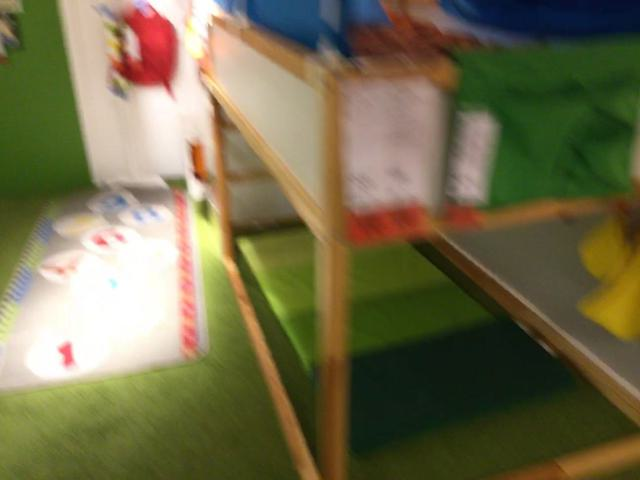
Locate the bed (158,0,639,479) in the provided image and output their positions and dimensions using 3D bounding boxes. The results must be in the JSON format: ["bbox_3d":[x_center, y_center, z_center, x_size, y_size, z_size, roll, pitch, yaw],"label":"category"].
[{"bbox_3d":[0.220,-0.480,1.850,1.210,1.860,2.100,-6,25,-19],"label":"bed"}]

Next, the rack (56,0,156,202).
[{"bbox_3d":[-1.180,-0.870,3.220,0.410,1.260,0.290,-6,25,-19],"label":"rack"}]

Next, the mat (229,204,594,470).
[{"bbox_3d":[0.200,0.220,2.330,0.840,0.160,1.500,-6,25,-19],"label":"mat"}]
